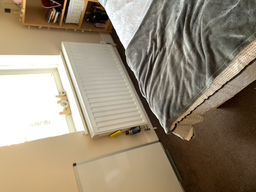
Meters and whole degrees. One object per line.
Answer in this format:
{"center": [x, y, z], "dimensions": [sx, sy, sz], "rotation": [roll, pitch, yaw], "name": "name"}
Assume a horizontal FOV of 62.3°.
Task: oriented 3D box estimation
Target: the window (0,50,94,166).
{"center": [-1.340, 0.090, 1.690], "dimensions": [0.320, 1.880, 0.990], "rotation": [-55, 51, 44], "name": "window"}

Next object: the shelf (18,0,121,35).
{"center": [-0.650, -1.000, 2.420], "dimensions": [0.430, 1.020, 0.310], "rotation": [-52, 53, 46], "name": "shelf"}
